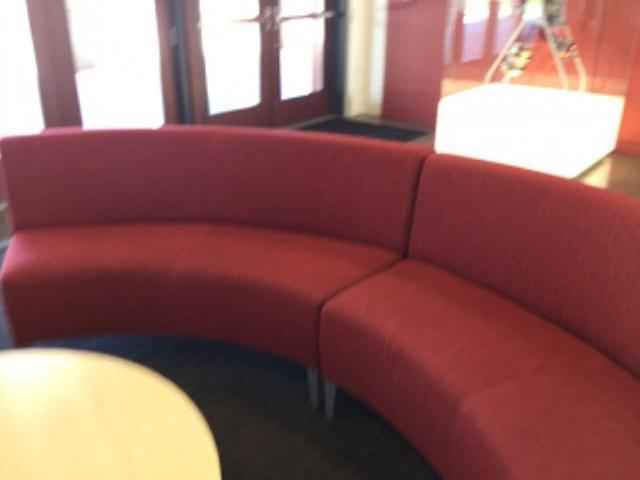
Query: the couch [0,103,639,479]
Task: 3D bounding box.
[{"bbox_3d":[-0.060,0.170,1.900,2.950,0.770,1.200,13,28,29],"label":"couch"}]
